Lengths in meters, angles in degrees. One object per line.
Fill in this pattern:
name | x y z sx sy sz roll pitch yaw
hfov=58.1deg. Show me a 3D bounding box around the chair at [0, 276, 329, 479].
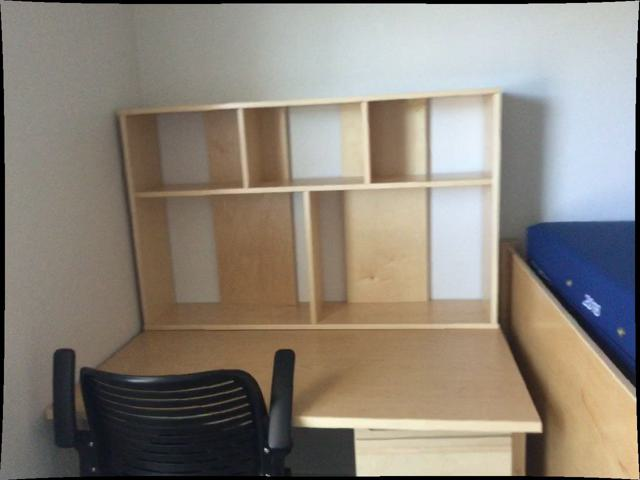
chair | -0.359 0.671 1.750 0.649 0.911 0.830 -3 12 7
